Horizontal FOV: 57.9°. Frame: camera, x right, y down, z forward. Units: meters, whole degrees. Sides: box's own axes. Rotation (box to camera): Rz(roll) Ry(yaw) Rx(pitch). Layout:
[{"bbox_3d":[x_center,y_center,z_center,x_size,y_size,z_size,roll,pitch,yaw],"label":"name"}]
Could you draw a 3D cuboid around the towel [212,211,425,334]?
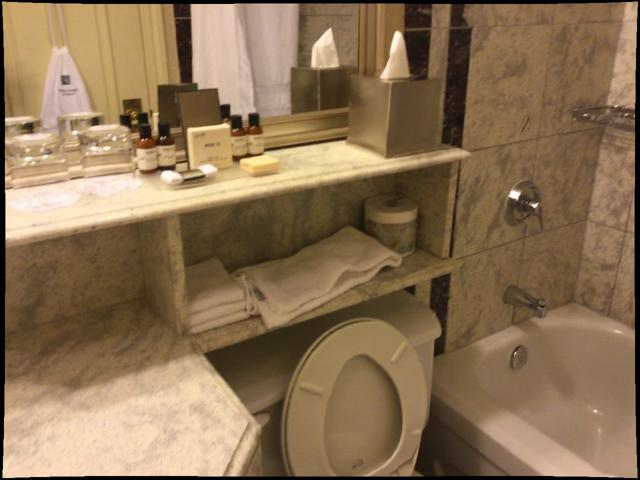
[{"bbox_3d":[0.000,0.050,1.190,0.380,0.080,0.210,-17,27,-30],"label":"towel"}]
